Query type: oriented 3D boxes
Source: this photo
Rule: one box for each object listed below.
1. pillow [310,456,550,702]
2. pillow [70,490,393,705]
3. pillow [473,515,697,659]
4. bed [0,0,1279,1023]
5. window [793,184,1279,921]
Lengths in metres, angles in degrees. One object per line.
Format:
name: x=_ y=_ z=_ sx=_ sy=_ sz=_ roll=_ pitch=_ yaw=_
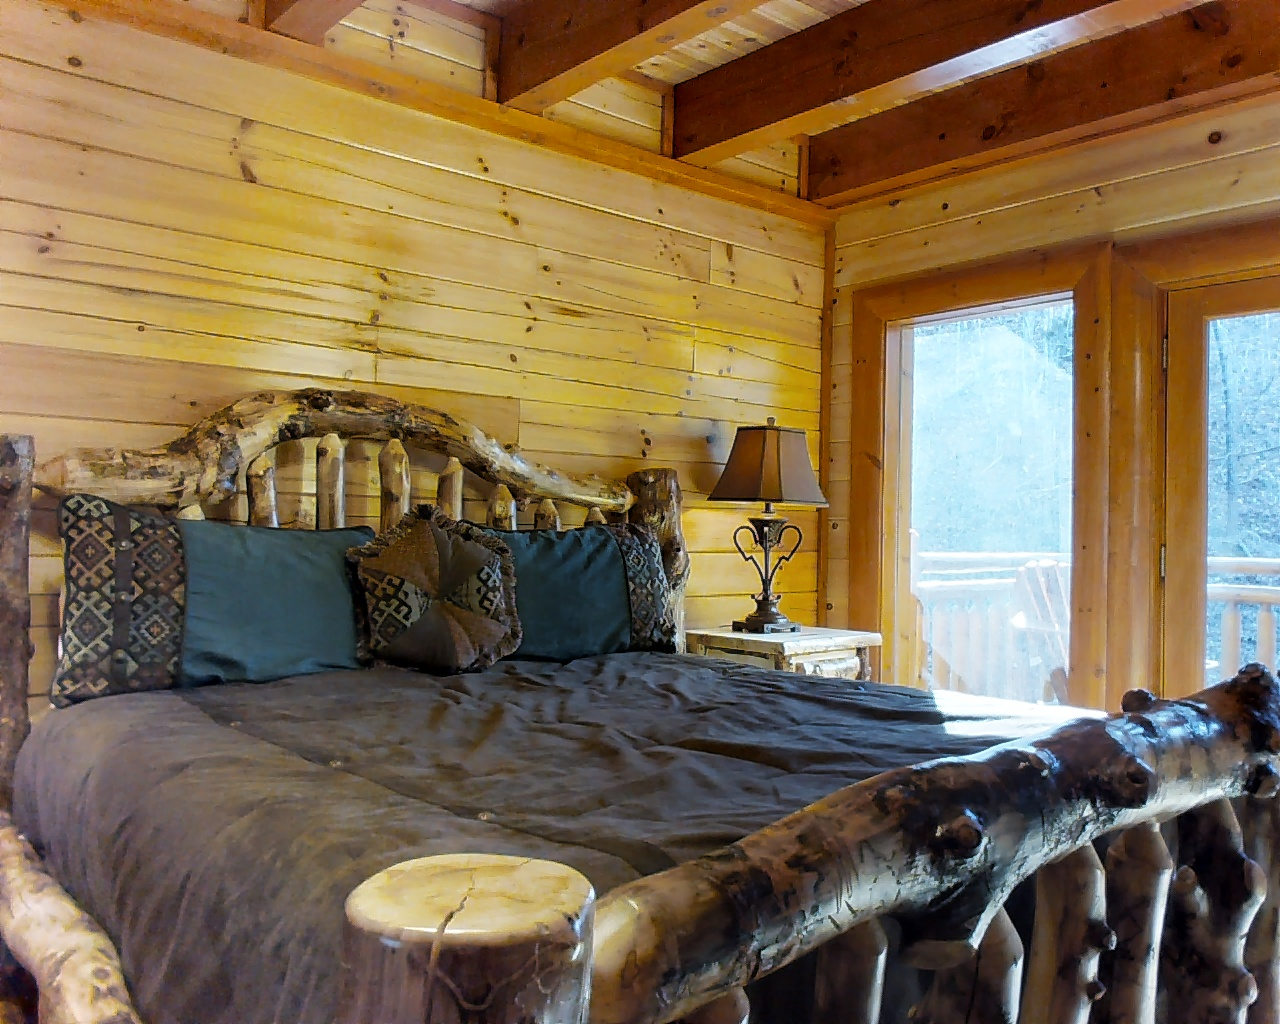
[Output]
pillow: x=-0.560 y=0.190 z=2.960 sx=0.180 sy=0.540 sz=0.500 roll=1 pitch=-18 yaw=47
pillow: x=-0.980 y=0.190 z=2.650 sx=0.260 sy=0.460 sz=0.690 roll=0 pitch=-1 yaw=44
pillow: x=-0.160 y=0.220 z=3.380 sx=0.680 sy=0.410 sz=0.250 roll=2 pitch=-1 yaw=-40
bed: x=-0.050 y=0.400 z=2.380 sx=2.450 sy=1.581 sz=2.590 roll=2 pitch=-1 yaw=-41
window: x=2.079 y=0.120 z=3.420 sx=0.360 sy=2.251 sz=3.829 roll=2 pitch=-1 yaw=-41
